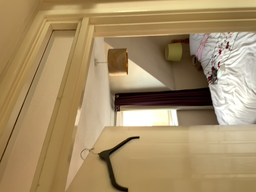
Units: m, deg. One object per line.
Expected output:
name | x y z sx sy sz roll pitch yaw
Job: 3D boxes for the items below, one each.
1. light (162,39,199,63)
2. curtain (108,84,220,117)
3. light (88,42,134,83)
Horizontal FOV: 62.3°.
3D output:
light | 1.010 -0.900 4.170 0.480 0.600 0.310 -88 -3 -58
curtain | 0.610 0.090 3.840 0.420 1.870 0.400 87 -177 -54
light | -0.190 -0.360 2.420 0.360 0.380 0.410 -5 -85 -54
